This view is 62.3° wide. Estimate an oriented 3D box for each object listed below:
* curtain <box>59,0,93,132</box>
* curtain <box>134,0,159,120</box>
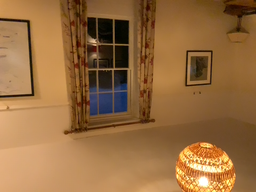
[{"bbox_3d":[-0.790,-0.700,3.220,0.400,2.530,0.150,-5,-167,-24],"label":"curtain"},{"bbox_3d":[0.310,-0.790,3.700,0.360,2.430,0.170,-5,-168,-22],"label":"curtain"}]
